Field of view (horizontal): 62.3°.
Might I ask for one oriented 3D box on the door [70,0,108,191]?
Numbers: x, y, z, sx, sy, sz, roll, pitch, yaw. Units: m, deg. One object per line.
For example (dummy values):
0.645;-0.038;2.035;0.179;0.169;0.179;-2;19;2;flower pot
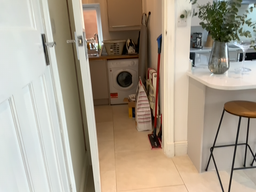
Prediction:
-0.300;-0.130;1.740;0.110;1.980;0.890;-5;18;-7;door
